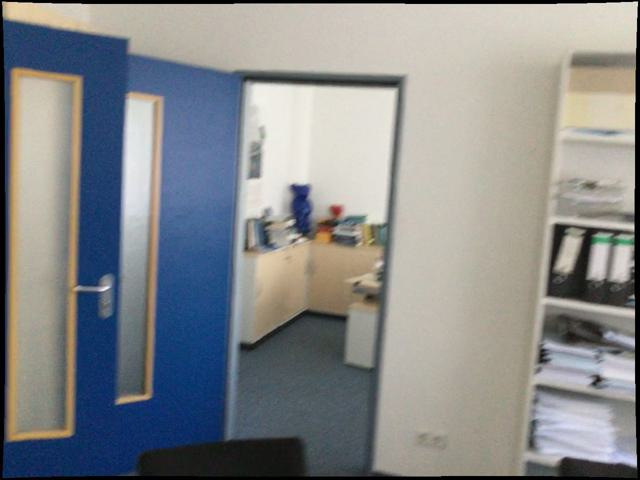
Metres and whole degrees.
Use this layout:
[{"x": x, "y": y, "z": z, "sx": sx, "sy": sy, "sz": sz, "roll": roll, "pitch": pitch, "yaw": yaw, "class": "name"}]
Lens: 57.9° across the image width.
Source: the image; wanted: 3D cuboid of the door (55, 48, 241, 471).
[{"x": -0.819, "y": 0.120, "z": 2.880, "sx": 0.819, "sy": 1.972, "sz": 0.140, "roll": -5, "pitch": 15, "yaw": -33, "class": "door"}]

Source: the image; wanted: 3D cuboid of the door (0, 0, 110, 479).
[{"x": -1.299, "y": 0.120, "z": 2.310, "sx": 0.839, "sy": 2.132, "sz": 0.250, "roll": 1, "pitch": 9, "yaw": -18, "class": "door"}]
